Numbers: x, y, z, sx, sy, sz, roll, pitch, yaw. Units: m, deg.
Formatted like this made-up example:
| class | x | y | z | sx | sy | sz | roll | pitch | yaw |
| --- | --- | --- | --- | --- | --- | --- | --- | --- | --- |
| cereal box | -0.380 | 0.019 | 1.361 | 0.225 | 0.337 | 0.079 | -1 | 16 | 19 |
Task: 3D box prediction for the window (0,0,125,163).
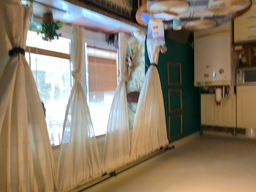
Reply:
| class | x | y | z | sx | sy | sz | roll | pitch | yaw |
| --- | --- | --- | --- | --- | --- | --- | --- | --- | --- |
| window | -0.570 | -0.170 | 2.300 | 0.170 | 1.340 | 1.490 | 1 | -177 | 38 |
